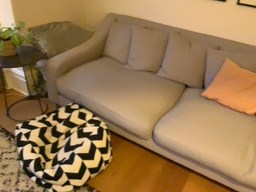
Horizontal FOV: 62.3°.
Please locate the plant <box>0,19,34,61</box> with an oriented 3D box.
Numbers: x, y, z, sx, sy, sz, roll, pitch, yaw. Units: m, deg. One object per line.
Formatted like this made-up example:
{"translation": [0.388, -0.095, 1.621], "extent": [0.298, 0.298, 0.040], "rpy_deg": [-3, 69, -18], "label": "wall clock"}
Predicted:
{"translation": [-1.000, -0.450, 1.670], "extent": [0.320, 0.180, 0.320], "rpy_deg": [24, 38, 23], "label": "plant"}
